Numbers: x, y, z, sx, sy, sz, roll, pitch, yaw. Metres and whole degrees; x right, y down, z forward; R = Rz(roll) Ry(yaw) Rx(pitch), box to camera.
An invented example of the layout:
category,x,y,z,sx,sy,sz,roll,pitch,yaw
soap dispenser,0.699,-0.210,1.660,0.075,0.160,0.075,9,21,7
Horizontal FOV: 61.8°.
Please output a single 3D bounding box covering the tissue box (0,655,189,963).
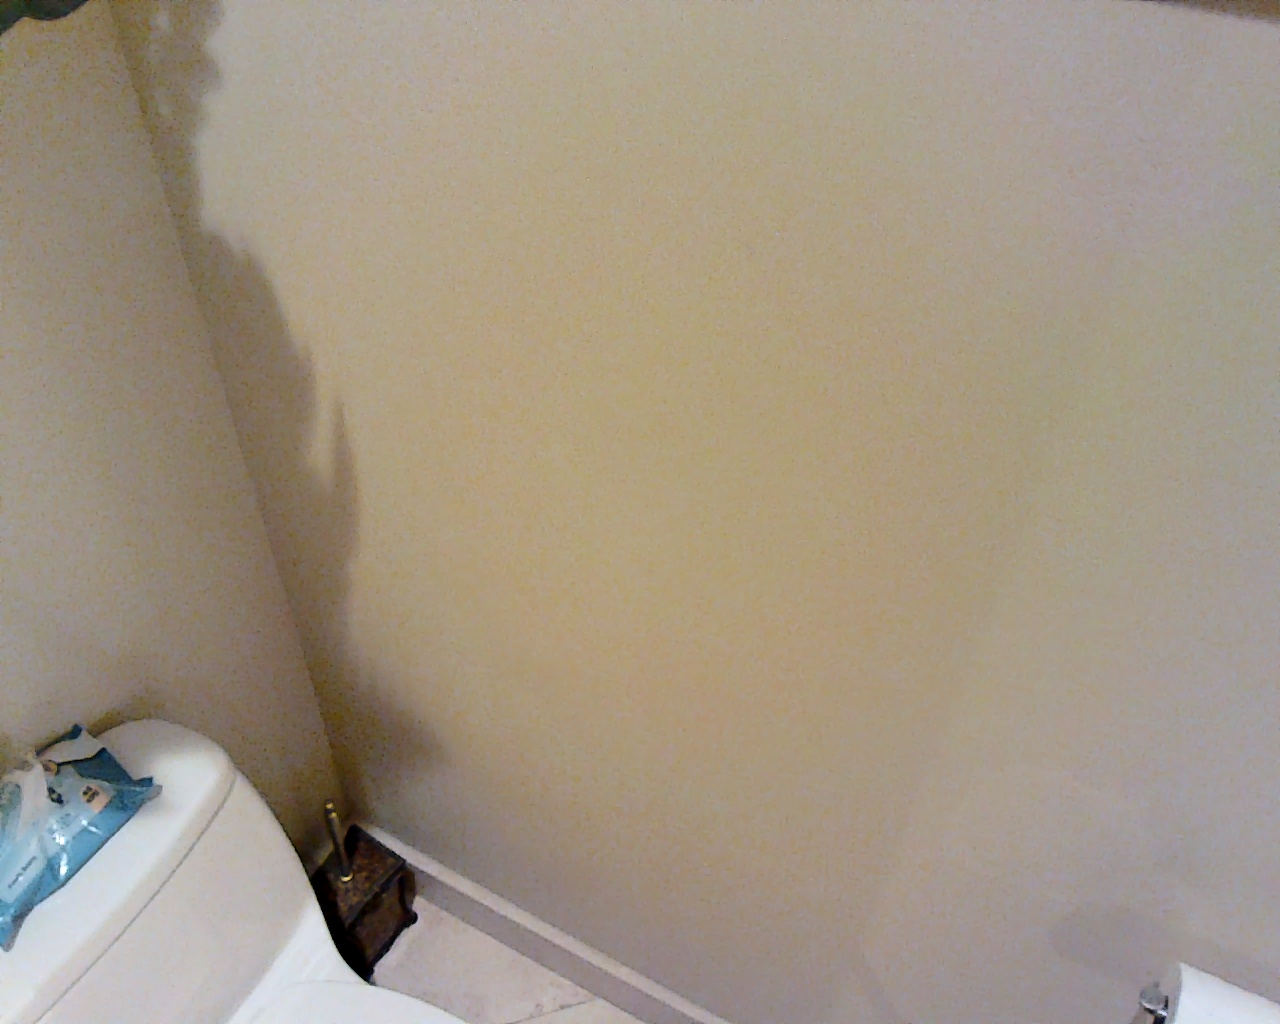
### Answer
category,x,y,z,sx,sy,sz,roll,pitch,yaw
tissue box,-0.530,0.250,0.930,0.130,0.090,0.210,21,47,18
